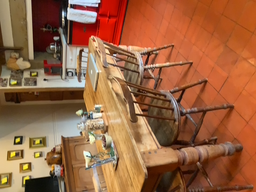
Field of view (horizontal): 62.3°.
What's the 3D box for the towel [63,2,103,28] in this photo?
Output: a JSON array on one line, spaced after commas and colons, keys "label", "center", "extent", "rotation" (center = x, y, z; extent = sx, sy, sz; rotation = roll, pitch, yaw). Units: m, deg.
[{"label": "towel", "center": [-0.640, -1.140, 2.990], "extent": [0.140, 0.510, 0.260], "rotation": [-116, 33, -45]}]
